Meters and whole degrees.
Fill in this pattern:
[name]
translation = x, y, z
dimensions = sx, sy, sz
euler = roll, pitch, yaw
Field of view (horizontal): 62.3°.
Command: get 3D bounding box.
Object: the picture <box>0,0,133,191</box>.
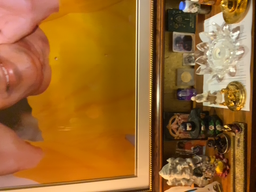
[picture]
translation = -0.420, -0.030, 0.610
dimensions = 0.040, 0.890, 0.880
euler = 180, 90, -75
